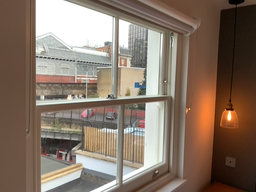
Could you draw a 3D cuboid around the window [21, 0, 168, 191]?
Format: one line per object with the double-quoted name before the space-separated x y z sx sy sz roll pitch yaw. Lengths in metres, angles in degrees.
"window" -0.080 0.080 1.300 0.070 1.130 1.080 5 6 40
